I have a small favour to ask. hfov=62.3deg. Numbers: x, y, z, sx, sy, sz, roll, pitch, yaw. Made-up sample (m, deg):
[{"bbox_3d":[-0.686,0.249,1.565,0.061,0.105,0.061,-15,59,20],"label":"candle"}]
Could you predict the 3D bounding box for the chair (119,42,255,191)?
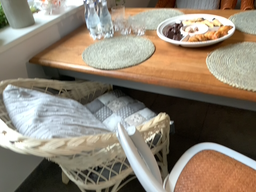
[{"bbox_3d":[0.380,0.360,0.780,0.530,0.870,0.480,-35,45,-30],"label":"chair"}]
